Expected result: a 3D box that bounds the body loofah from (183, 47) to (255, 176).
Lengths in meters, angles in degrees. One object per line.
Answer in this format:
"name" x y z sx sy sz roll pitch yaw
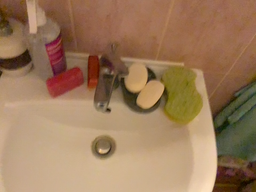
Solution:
"body loofah" 0.400 0.070 0.650 0.210 0.740 0.180 2 57 -5
